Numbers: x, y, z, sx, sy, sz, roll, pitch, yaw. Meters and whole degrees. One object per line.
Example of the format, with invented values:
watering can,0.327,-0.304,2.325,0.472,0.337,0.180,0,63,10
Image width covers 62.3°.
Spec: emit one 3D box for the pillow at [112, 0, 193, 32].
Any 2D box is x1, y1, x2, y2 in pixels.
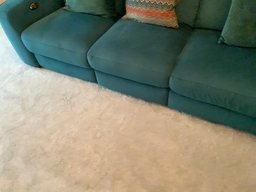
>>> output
pillow,0.150,-0.720,1.490,0.500,0.400,0.180,-2,42,32
